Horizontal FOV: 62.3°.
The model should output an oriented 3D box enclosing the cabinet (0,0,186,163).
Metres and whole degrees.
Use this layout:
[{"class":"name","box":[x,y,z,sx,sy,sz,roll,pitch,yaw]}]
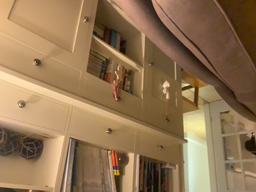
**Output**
[{"class":"cabinet","box":[-0.200,-0.180,1.480,0.460,1.030,1.470,-18,147,40]}]
